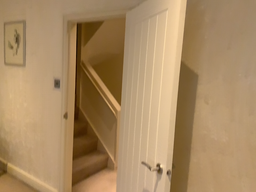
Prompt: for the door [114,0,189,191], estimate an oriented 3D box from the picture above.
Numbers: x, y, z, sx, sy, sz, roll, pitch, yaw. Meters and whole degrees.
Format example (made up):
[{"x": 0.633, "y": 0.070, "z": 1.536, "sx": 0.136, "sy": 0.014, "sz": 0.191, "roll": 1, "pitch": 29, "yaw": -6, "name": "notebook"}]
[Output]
[{"x": 0.070, "y": 0.340, "z": 1.470, "sx": 0.050, "sy": 1.950, "sz": 0.800, "roll": 1, "pitch": 8, "yaw": -21, "name": "door"}]
